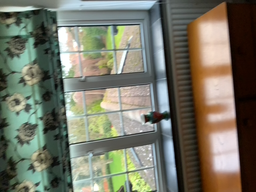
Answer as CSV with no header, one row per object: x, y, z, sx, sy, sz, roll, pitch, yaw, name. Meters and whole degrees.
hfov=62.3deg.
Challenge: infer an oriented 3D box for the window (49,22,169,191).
-0.140,0.180,1.860,0.070,0.870,1.610,175,89,-76,window
